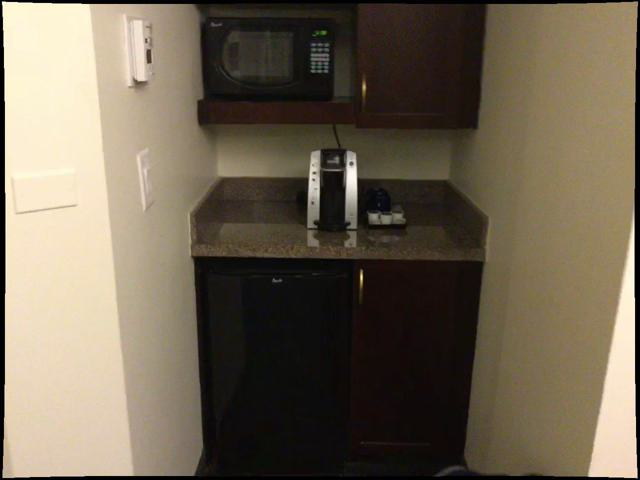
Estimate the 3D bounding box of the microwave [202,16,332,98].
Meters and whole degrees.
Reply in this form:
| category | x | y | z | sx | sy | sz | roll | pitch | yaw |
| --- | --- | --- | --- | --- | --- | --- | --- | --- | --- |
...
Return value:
| category | x | y | z | sx | sy | sz | roll | pitch | yaw |
| --- | --- | --- | --- | --- | --- | --- | --- | --- | --- |
| microwave | -0.180 | -0.651 | 2.060 | 0.440 | 0.270 | 0.140 | 0 | 18 | -1 |

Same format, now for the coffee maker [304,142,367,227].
| category | x | y | z | sx | sy | sz | roll | pitch | yaw |
| --- | --- | --- | --- | --- | --- | --- | --- | --- | --- |
| coffee maker | 0.050 | -0.200 | 2.060 | 0.210 | 0.270 | 0.170 | 0 | 18 | -1 |

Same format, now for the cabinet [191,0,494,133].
| category | x | y | z | sx | sy | sz | roll | pitch | yaw |
| --- | --- | --- | --- | --- | --- | --- | --- | --- | --- |
| cabinet | 0.070 | -0.851 | 2.040 | 0.959 | 0.871 | 0.460 | 0 | 18 | -1 |
